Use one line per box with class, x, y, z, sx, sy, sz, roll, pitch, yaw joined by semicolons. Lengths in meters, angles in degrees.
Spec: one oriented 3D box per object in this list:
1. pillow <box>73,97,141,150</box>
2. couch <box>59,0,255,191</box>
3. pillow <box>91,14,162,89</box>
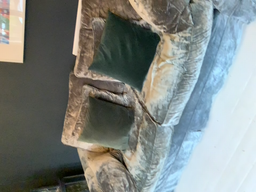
pillow;-0.180;0.260;1.900;0.200;0.440;0.400;46;112;37
couch;-0.010;-0.070;1.890;1.250;0.820;1.940;49;132;51
pillow;0.000;-0.310;1.600;0.170;0.370;0.420;39;102;36
